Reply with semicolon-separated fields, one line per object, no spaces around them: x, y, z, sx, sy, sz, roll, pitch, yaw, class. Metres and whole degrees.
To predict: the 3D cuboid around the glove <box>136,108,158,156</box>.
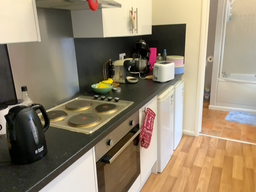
0.160;0.290;1.770;0.080;0.310;0.260;8;19;27;glove
